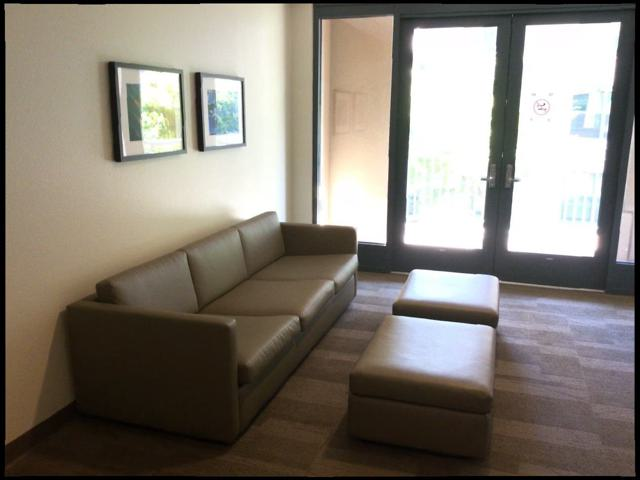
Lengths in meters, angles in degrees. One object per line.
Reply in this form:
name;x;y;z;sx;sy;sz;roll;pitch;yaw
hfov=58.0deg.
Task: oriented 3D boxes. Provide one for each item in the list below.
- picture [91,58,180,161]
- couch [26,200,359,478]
picture;-0.998;-0.731;3.210;0.090;0.501;0.660;3;15;15
couch;-0.499;0.341;3.530;0.998;0.711;2.270;5;15;15
